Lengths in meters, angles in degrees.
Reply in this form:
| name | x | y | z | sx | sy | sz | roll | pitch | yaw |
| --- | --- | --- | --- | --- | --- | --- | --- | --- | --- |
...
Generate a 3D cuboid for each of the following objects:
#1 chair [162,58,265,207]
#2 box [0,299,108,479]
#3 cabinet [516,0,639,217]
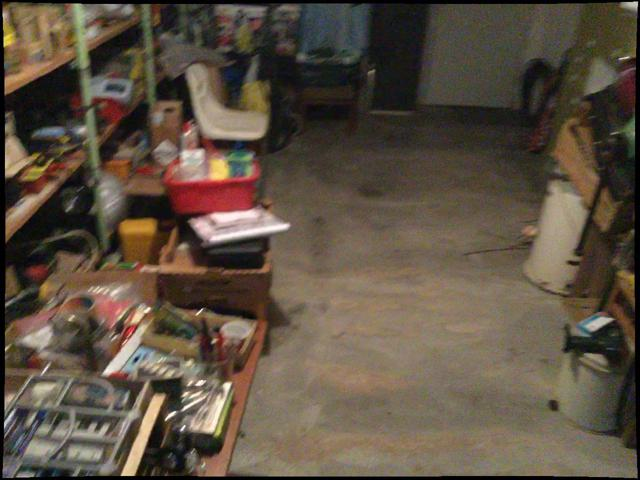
| name | x | y | z | sx | sy | sz | roll | pitch | yaw |
| --- | --- | --- | --- | --- | --- | --- | --- | --- | --- |
| chair | -0.569 | -0.611 | 3.270 | 0.499 | 0.701 | 0.470 | 1 | 29 | -4 |
| box | -0.589 | 0.300 | 1.180 | 0.200 | 0.210 | 0.320 | 1 | 29 | -4 |
| cabinet | 1.758 | -1.331 | 3.370 | 0.400 | 2.092 | 1.140 | 1 | 29 | -4 |
